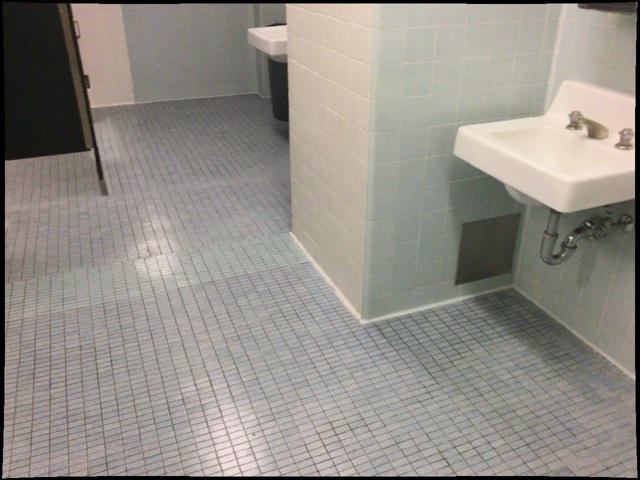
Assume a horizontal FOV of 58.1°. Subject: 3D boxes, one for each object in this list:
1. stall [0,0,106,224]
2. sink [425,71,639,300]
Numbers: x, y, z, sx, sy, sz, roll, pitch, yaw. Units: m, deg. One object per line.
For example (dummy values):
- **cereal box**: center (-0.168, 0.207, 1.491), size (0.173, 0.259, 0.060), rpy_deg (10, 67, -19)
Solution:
- **stall**: center (-1.606, -0.752, 3.020), size (0.649, 1.273, 0.270), rpy_deg (-14, 31, -21)
- **sink**: center (0.728, -0.221, 1.870), size (0.469, 0.471, 0.620), rpy_deg (-14, 31, -21)
